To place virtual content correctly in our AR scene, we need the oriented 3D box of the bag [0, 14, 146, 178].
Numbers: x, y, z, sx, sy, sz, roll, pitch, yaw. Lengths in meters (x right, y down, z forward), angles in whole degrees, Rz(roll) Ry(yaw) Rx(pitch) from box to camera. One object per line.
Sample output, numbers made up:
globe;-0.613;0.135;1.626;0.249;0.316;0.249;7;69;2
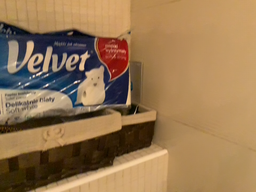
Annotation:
bag;-0.180;-0.020;0.580;0.460;0.350;0.140;-8;16;-31
